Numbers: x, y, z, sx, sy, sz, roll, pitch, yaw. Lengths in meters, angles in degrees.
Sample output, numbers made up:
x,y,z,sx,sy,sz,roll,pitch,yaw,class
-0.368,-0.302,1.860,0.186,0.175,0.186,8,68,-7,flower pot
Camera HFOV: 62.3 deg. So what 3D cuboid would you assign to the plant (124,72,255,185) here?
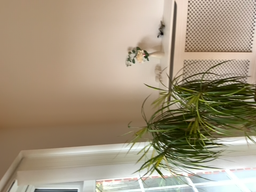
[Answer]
x,y,z,sx,sy,sz,roll,pitch,yaw,class
0.670,0.150,1.570,0.650,1.320,0.560,-123,33,-74,plant
